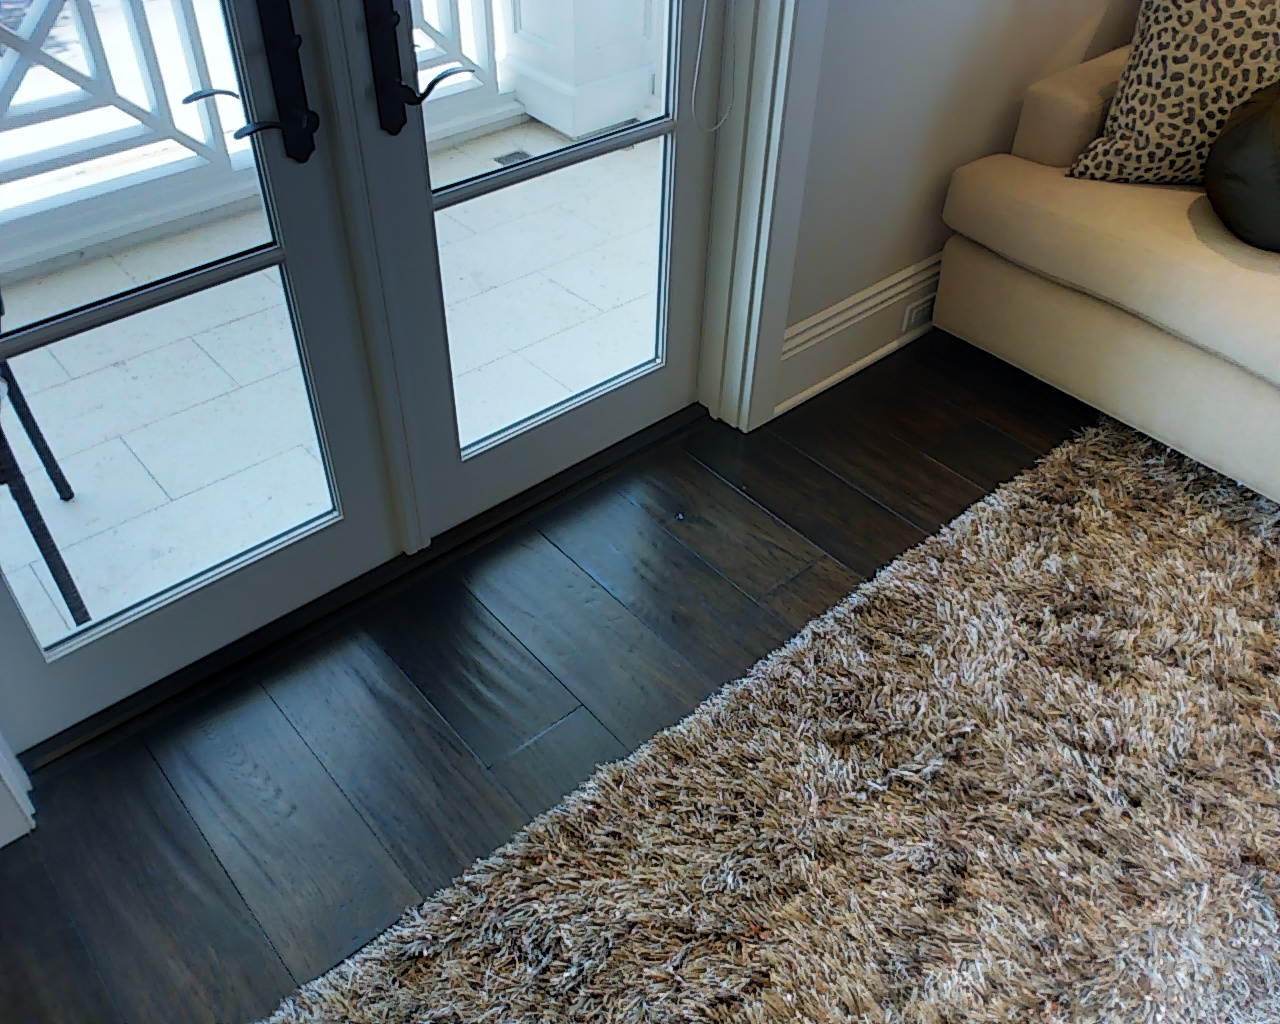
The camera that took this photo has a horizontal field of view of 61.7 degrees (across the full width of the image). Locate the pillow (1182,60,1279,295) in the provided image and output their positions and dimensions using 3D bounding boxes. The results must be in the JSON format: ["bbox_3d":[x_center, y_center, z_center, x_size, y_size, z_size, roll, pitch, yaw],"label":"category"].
[{"bbox_3d":[1.290,-0.620,2.030,0.370,0.300,0.350,18,44,18],"label":"pillow"}]
